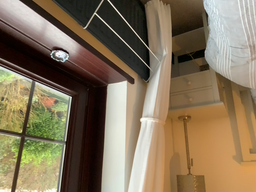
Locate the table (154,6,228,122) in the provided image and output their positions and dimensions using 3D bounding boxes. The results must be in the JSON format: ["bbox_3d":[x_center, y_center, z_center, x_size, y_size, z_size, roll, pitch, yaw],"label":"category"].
[{"bbox_3d":[0.510,-0.230,1.760,0.430,0.770,0.410,-11,157,30],"label":"table"}]

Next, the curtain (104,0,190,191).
[{"bbox_3d":[0.130,0.410,1.080,0.220,2.470,0.540,-10,157,28],"label":"curtain"}]

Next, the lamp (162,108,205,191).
[{"bbox_3d":[0.400,0.430,1.550,0.220,0.630,0.200,-11,157,29],"label":"lamp"}]
